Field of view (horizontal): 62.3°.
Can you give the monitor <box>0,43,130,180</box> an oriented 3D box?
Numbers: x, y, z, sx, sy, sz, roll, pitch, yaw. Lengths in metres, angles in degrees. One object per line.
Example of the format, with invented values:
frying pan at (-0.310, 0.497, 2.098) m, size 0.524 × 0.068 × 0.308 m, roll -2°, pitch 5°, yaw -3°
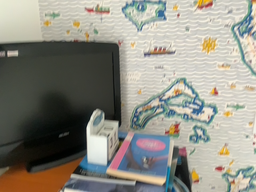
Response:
monitor at (-0.200, 0.020, 0.660) m, size 0.500 × 0.350 × 0.040 m, roll -12°, pitch 19°, yaw -37°
